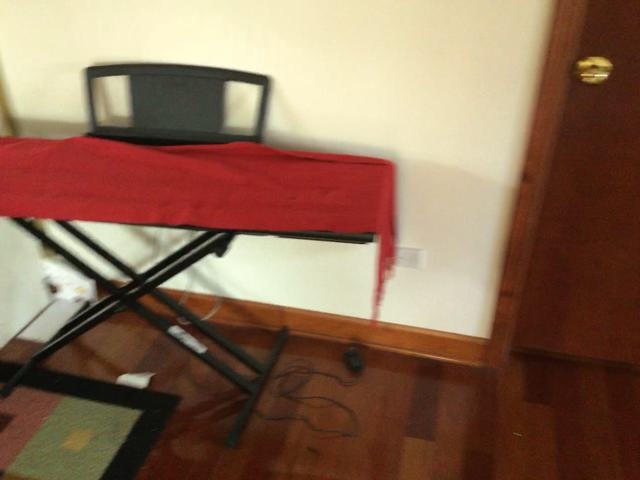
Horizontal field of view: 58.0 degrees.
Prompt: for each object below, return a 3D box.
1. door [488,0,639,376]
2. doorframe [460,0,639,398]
[{"bbox_3d":[0.930,-0.130,1.450,0.790,1.260,0.040,8,34,12],"label":"door"},{"bbox_3d":[0.900,-0.100,1.420,0.920,1.270,0.110,8,34,12],"label":"doorframe"}]
